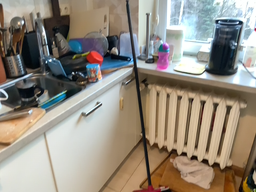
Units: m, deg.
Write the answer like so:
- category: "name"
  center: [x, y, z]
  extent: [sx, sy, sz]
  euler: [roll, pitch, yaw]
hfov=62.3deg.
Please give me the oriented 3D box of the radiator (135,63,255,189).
- category: "radiator"
  center: [0.470, 0.200, 1.690]
  extent: [0.810, 0.750, 0.260]
  euler: [17, 32, 30]

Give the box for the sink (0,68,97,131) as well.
- category: "sink"
  center: [-0.470, -0.010, 1.240]
  extent: [0.460, 0.140, 0.330]
  euler: [14, 31, 26]
